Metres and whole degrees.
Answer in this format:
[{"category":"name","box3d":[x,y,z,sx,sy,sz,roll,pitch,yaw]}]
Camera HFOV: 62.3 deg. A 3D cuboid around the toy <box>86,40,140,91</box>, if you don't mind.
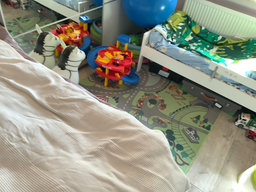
[{"category":"toy","box3d":[-0.170,-0.340,2.260,0.460,0.250,0.330,35,48,23]}]
